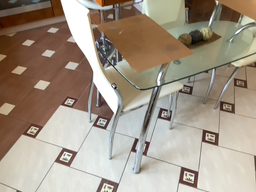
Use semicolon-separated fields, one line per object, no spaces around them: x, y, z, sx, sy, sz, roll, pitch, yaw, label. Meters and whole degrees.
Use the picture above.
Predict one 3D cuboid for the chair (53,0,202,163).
-0.020;-0.120;1.230;0.540;0.970;0.380;-20;49;-20;chair
